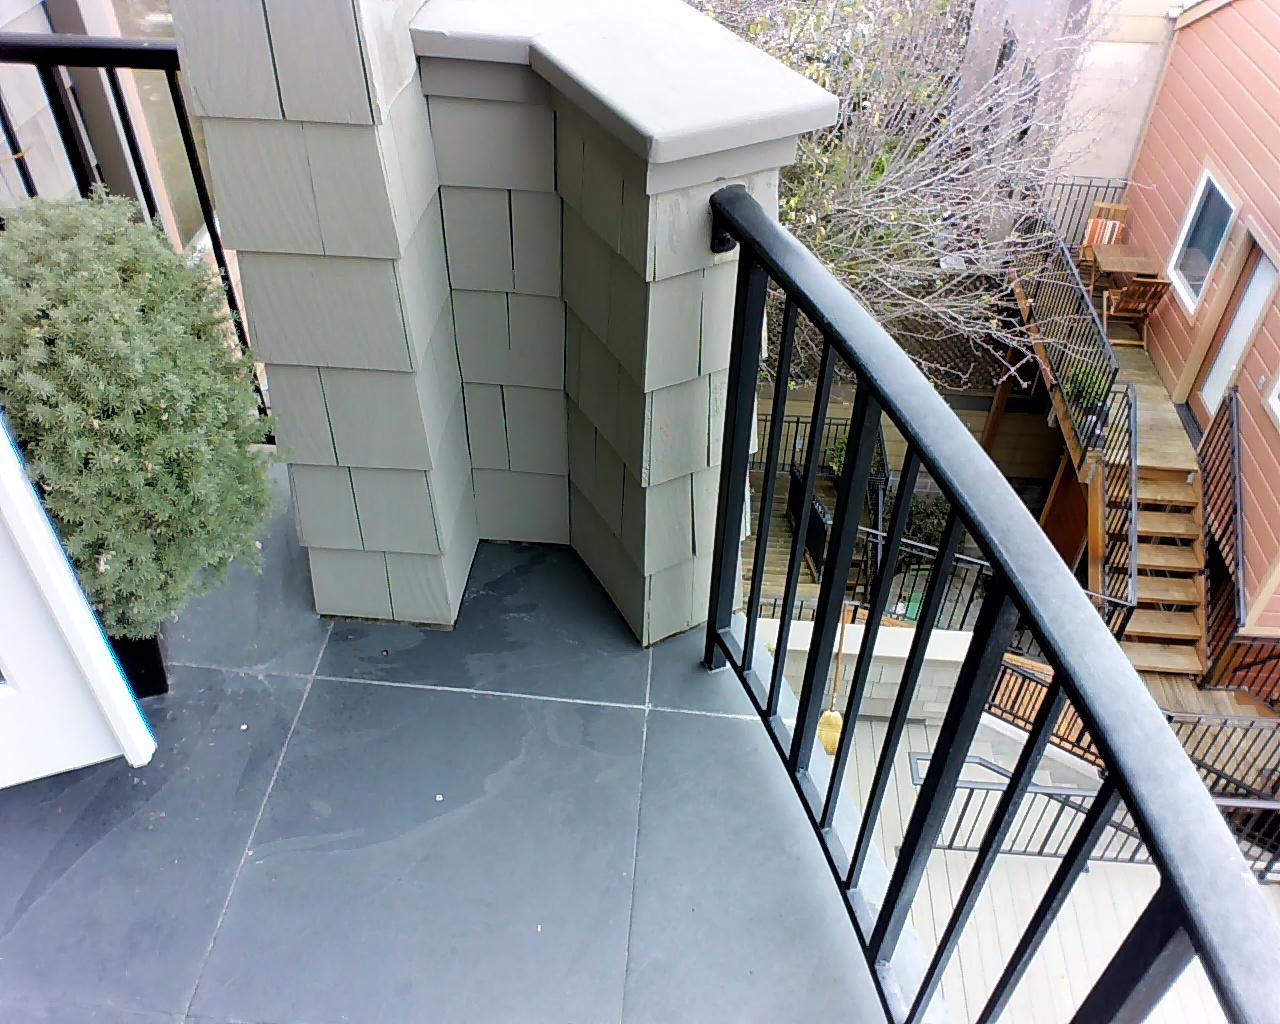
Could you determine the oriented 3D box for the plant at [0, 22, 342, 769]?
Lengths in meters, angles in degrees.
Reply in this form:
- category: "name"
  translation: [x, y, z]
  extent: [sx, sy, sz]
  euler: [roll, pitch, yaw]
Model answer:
- category: "plant"
  translation: [-0.820, -0.160, 1.450]
  extent: [0.510, 0.760, 0.590]
  euler: [8, 43, 7]
